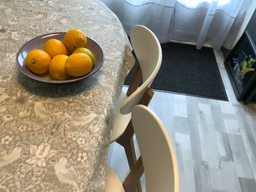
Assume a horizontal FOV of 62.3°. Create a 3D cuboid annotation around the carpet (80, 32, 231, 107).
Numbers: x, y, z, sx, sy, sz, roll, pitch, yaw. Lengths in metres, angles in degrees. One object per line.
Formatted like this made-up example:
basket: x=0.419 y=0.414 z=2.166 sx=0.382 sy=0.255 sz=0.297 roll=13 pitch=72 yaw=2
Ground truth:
carpet: x=0.270 y=-0.300 z=2.020 sx=1.250 sy=0.040 sz=0.770 roll=10 pitch=46 yaw=1
